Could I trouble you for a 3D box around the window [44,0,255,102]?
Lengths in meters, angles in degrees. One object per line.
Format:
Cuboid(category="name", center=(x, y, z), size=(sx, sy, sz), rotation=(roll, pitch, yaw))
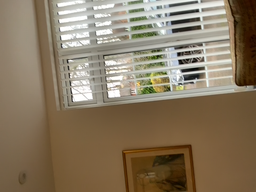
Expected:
Cuboid(category="window", center=(0.190, -0.580, 1.980), size=(0.190, 1.840, 1.070), rotation=(-17, -79, -86))
